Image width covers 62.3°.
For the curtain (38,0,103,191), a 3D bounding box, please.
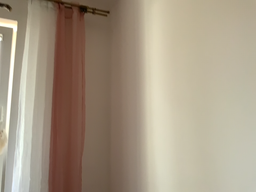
[{"bbox_3d":[-0.450,0.310,1.680,0.430,2.480,0.170,4,-10,-26],"label":"curtain"}]
